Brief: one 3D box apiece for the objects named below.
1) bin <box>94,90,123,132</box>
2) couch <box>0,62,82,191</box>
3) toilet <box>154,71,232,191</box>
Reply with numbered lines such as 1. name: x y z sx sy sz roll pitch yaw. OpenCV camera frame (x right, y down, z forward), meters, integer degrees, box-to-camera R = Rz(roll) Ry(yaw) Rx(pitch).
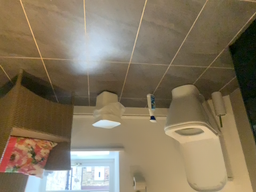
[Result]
1. bin: -0.190 0.150 1.960 0.230 0.290 0.330 2 155 -9
2. couch: -0.830 0.330 1.670 0.610 0.850 0.620 -18 151 30
3. toilet: 0.550 0.340 1.810 0.340 0.850 0.640 -16 152 28
